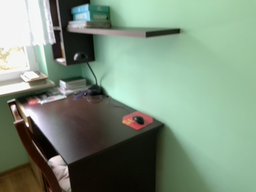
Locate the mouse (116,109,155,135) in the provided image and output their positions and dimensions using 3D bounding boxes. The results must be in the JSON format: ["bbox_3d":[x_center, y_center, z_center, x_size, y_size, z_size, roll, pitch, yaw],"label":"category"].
[{"bbox_3d":[0.050,0.170,1.440,0.200,0.070,0.170,-15,25,-32],"label":"mouse"}]
